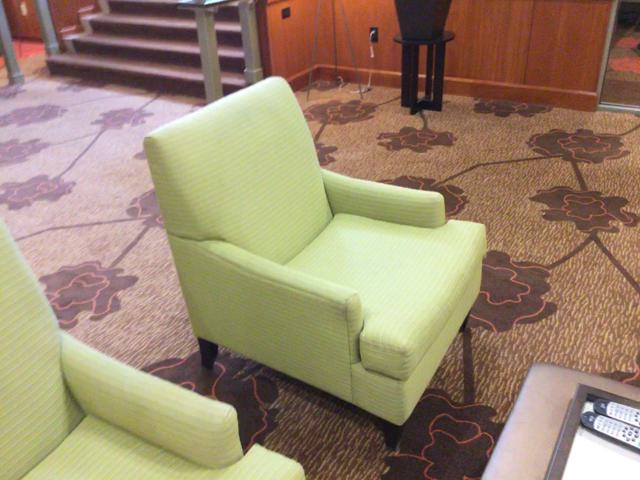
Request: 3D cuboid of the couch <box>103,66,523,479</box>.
[{"bbox_3d":[0.020,0.020,1.930,0.950,0.910,0.800,16,36,31],"label":"couch"}]
